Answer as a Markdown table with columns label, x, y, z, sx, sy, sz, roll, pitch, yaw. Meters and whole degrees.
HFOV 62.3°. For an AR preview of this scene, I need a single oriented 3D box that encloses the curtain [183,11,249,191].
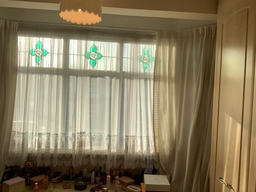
| label | x | y | z | sx | sy | sz | roll | pitch | yaw |
| --- | --- | --- | --- | --- | --- | --- | --- | --- | --- |
| curtain | 0.780 | 0.330 | 1.950 | 0.430 | 2.100 | 0.220 | 2 | 2 | -5 |
